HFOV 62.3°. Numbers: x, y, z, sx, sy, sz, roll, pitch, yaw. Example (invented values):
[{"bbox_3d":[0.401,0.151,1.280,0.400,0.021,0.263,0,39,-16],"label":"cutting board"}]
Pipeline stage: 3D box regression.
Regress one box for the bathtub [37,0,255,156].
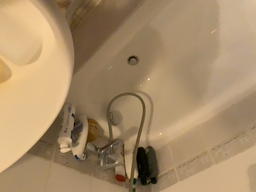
[{"bbox_3d":[0.390,-0.440,0.970,0.710,0.530,1.670,33,122,-31],"label":"bathtub"}]
